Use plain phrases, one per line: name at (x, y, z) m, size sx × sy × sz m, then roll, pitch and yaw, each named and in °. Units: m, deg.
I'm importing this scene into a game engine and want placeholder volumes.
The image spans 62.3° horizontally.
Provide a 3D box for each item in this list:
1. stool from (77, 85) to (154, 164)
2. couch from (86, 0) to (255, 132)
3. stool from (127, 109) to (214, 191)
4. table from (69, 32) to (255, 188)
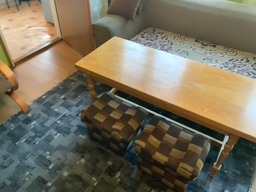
stool at (-0.100, 0.220, 1.780) m, size 0.480 × 0.340 × 0.370 m, roll 25°, pitch 46°, yaw 24°
couch at (0.820, -0.530, 2.280) m, size 2.250 × 0.750 × 1.100 m, roll 23°, pitch 45°, yaw 22°
stool at (0.300, 0.420, 1.580) m, size 0.470 × 0.330 × 0.380 m, roll 25°, pitch 46°, yaw 24°
table at (0.280, 0.020, 1.760) m, size 1.370 × 0.580 × 0.600 m, roll 23°, pitch 45°, yaw 22°
